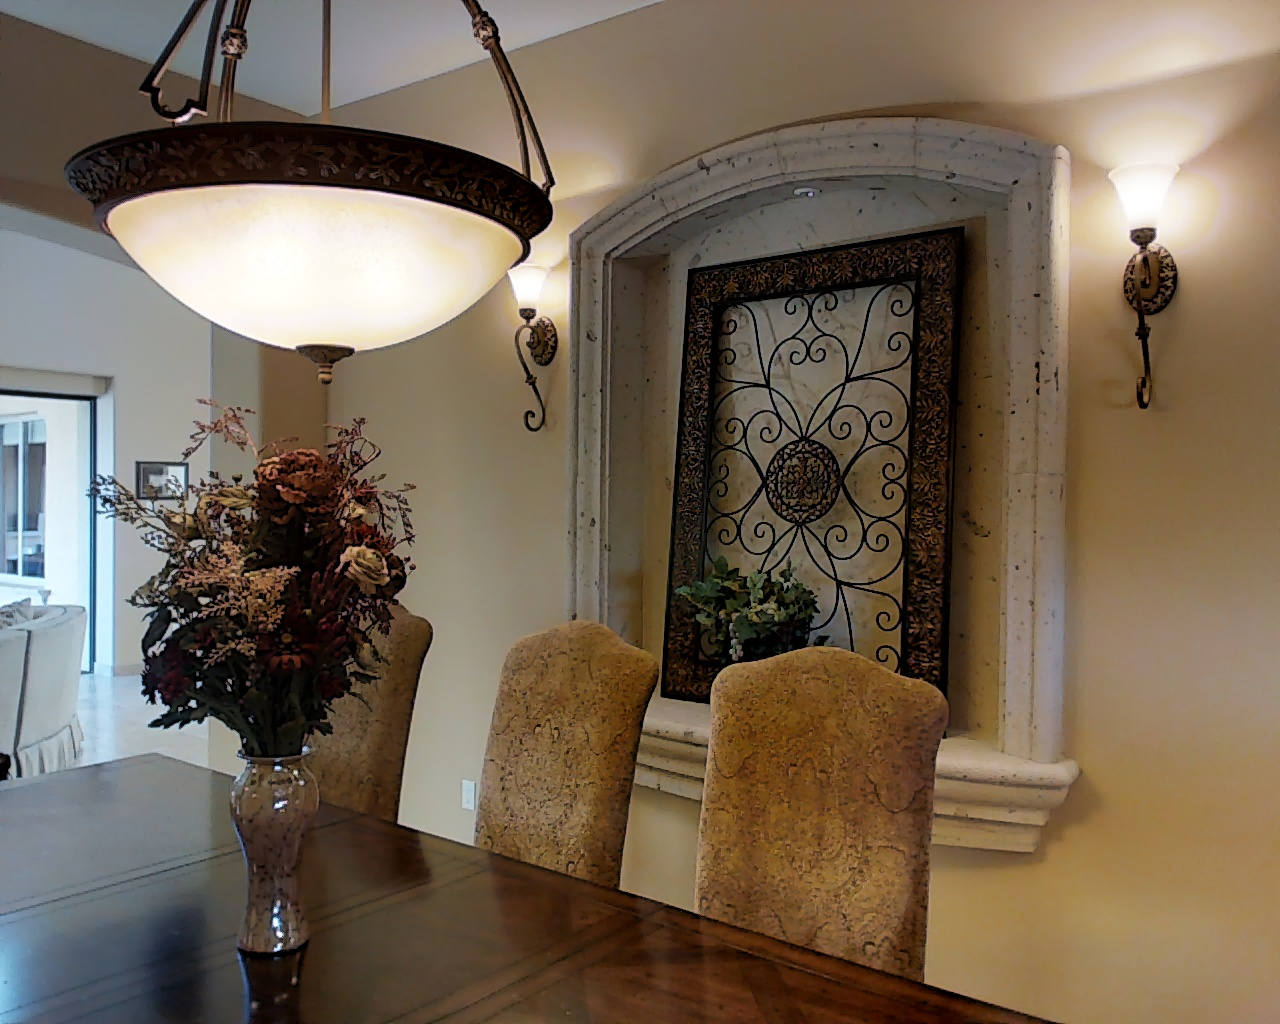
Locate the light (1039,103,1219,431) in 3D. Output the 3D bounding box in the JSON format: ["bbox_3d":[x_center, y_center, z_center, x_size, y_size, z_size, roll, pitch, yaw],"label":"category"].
[{"bbox_3d":[1.230,-0.580,2.680,0.350,0.720,0.320,1,0,35],"label":"light"}]
